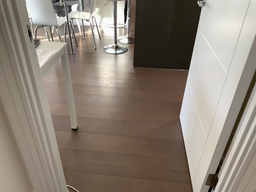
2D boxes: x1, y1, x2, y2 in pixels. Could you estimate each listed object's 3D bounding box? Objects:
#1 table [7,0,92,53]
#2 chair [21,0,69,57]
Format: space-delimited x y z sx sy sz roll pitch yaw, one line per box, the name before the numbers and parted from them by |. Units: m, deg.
table | -1.130 -1.230 3.300 0.880 0.770 0.880 5 34 4
chair | -1.120 -1.050 2.950 0.380 0.870 0.460 3 34 1
